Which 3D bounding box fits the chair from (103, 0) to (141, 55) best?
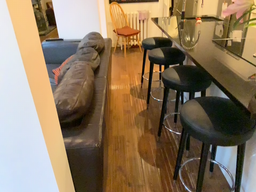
[{"bbox_3d":[-0.110,-1.450,4.460,0.490,0.970,0.600,-26,37,-37],"label":"chair"}]
